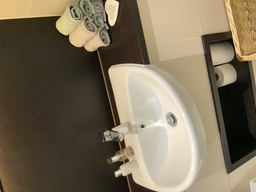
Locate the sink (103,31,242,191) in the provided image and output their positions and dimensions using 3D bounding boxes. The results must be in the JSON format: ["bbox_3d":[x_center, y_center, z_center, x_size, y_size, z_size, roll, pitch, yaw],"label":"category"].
[{"bbox_3d":[0.140,0.100,0.840,0.450,0.190,0.570,-2,101,60],"label":"sink"}]
